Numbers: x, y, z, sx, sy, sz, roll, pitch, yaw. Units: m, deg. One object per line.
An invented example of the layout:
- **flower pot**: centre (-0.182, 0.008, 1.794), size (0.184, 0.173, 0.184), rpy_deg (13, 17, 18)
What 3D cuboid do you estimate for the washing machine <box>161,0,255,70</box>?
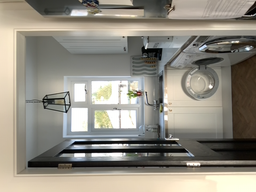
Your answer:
- **washing machine**: centre (0.900, -0.690, 2.550), size (0.590, 0.920, 0.670), rpy_deg (107, 163, -88)
